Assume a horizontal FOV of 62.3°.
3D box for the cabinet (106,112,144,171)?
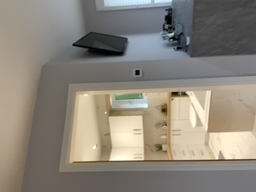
[{"bbox_3d":[-0.040,1.070,4.850,0.260,0.770,1.440,-83,-10,-65],"label":"cabinet"}]
